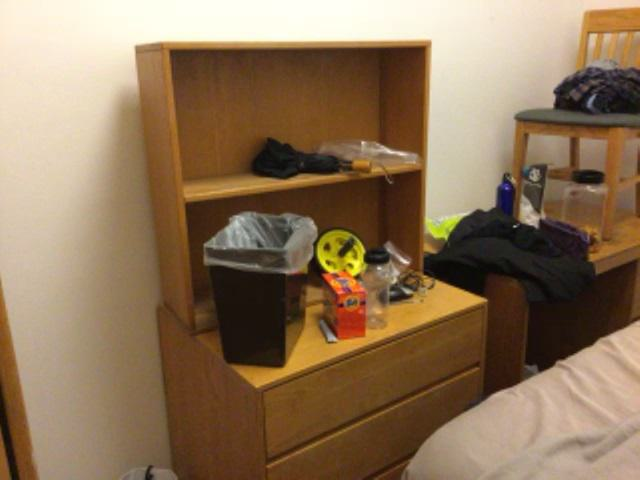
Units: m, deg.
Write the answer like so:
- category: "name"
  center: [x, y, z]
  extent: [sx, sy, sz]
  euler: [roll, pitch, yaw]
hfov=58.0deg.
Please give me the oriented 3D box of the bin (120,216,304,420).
- category: "bin"
  center: [-0.260, 0.160, 1.380]
  extent: [0.290, 0.330, 0.320]
  euler: [-15, 20, -30]

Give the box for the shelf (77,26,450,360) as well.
- category: "shelf"
  center: [-0.110, -0.180, 1.680]
  extent: [0.960, 0.760, 0.280]
  euler: [-12, 18, -22]

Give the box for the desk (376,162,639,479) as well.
- category: "desk"
  center: [0.950, 0.260, 2.320]
  extent: [1.180, 0.890, 0.760]
  euler: [-15, 20, -30]
